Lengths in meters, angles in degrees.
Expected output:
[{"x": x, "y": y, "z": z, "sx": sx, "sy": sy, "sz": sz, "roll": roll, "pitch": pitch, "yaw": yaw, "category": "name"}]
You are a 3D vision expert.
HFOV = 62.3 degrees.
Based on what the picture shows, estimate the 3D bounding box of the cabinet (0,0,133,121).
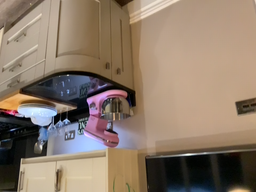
[{"x": -0.620, "y": -0.360, "z": 1.890, "sx": 1.140, "sy": 0.910, "sz": 0.610, "roll": -15, "pitch": 158, "yaw": 32, "category": "cabinet"}]
